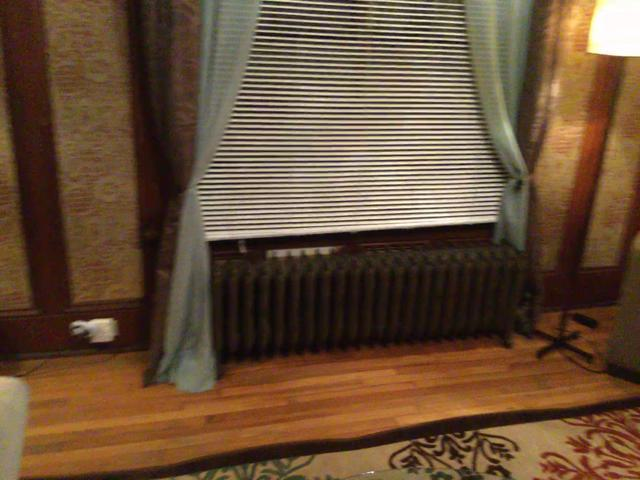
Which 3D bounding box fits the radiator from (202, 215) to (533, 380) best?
[{"bbox_3d":[0.200,0.220,2.480,1.350,0.530,0.270,-4,18,-11],"label":"radiator"}]
